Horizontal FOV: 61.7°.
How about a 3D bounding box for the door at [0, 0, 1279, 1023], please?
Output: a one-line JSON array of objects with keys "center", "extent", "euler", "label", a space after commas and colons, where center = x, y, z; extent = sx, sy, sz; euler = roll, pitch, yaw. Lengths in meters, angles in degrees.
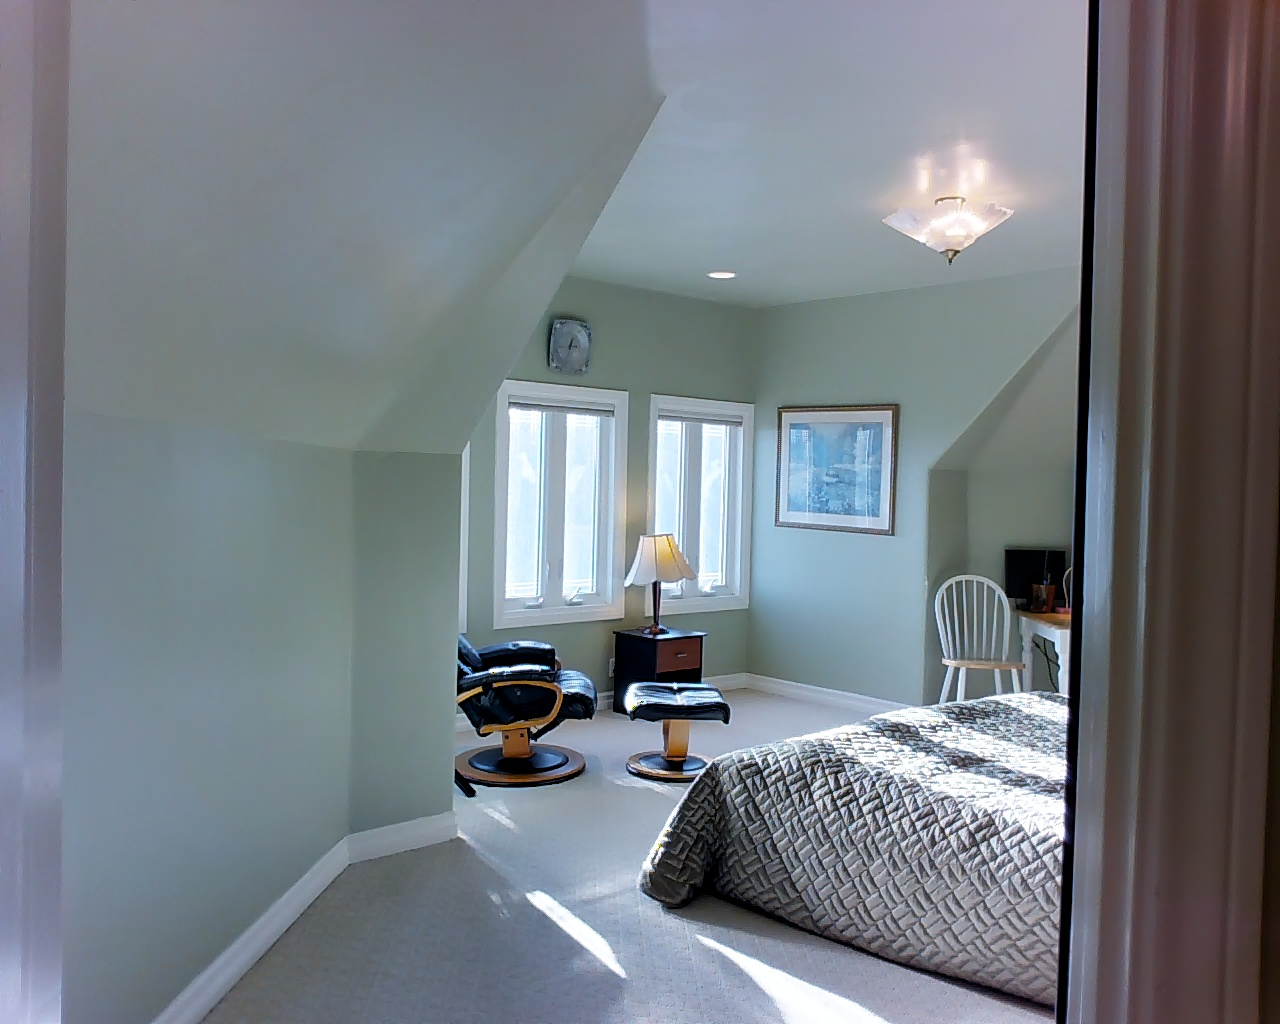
[{"center": [-0.070, 0.340, 0.330], "extent": [0.880, 2.130, 0.820], "euler": [2, 1, 4], "label": "door"}]
